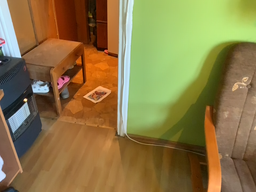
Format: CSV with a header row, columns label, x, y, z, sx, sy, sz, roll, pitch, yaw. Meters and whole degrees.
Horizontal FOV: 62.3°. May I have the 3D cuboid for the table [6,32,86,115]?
label,x,y,z,sx,sy,sz,roll,pitch,yaw
table,-0.810,-0.280,2.310,0.410,0.540,0.800,8,36,6

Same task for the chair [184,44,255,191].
label,x,y,z,sx,sy,sz,roll,pitch,yaw
chair,0.750,0.330,1.240,0.610,0.980,0.730,8,36,6
